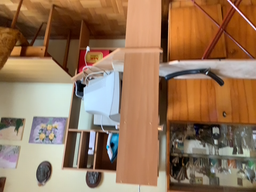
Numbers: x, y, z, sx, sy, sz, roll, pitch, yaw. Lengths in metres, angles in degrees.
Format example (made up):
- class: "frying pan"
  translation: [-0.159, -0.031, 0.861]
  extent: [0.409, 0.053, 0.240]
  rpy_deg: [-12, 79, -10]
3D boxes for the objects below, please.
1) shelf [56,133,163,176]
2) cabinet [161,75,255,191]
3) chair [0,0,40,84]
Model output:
- class: "shelf"
  translation: [-0.150, 0.550, 2.040]
  extent: [0.950, 0.310, 0.320]
  rpy_deg: [1, 164, 9]
- class: "cabinet"
  translation: [0.840, 0.610, 1.800]
  extent: [1.100, 1.510, 0.440]
  rpy_deg: [1, 164, 9]
- class: "chair"
  translation: [-1.200, -0.570, 2.030]
  extent: [0.410, 0.770, 0.460]
  rpy_deg: [4, 164, 1]
